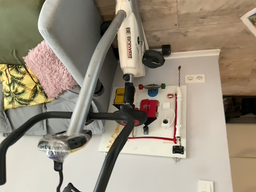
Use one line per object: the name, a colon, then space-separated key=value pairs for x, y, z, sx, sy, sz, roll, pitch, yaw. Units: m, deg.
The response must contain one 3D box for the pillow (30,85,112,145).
pillow: x=-0.440 y=0.170 z=1.690 sx=0.490 sy=0.320 sz=0.300 roll=-10 pitch=144 yaw=28
